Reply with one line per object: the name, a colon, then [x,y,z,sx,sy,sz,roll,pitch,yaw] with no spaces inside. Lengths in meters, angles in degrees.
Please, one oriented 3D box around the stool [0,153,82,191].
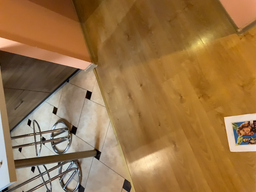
stool: [-0.880,0.770,1.850,0.350,0.850,0.330,-33,67,30]
